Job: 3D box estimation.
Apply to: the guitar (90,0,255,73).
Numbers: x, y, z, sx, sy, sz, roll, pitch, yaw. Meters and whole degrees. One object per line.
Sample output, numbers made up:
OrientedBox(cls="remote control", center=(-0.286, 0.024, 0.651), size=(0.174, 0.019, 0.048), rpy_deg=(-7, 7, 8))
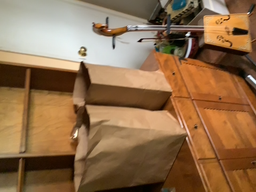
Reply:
OrientedBox(cls="guitar", center=(0.330, -0.440, 1.340), size=(0.150, 1.070, 0.310), rpy_deg=(128, 151, -62))
